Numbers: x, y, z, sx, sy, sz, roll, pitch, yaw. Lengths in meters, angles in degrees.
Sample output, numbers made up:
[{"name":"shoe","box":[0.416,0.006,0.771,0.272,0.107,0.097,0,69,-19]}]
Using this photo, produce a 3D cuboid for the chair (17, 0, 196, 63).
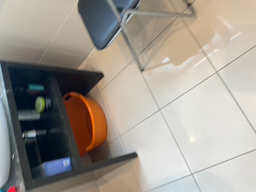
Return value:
[{"name":"chair","box":[-0.090,-0.500,1.070,0.410,0.750,0.420,-39,65,35]}]
